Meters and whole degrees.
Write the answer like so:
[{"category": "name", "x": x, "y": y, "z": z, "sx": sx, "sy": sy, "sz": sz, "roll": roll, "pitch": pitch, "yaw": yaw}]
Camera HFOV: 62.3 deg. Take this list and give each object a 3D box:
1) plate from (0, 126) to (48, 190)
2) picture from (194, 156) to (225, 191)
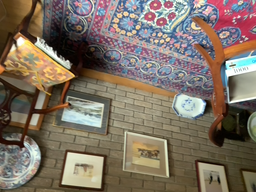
[{"category": "plate", "x": -0.890, "y": 0.470, "z": 1.640, "sx": 0.420, "sy": 0.440, "sz": 0.050, "roll": 12, "pitch": 148, "yaw": -14}, {"category": "picture", "x": 0.850, "y": 0.880, "z": 2.200, "sx": 0.310, "sy": 0.460, "sz": 0.040, "roll": 14, "pitch": 147, "yaw": -18}]
